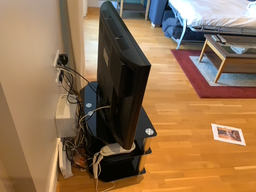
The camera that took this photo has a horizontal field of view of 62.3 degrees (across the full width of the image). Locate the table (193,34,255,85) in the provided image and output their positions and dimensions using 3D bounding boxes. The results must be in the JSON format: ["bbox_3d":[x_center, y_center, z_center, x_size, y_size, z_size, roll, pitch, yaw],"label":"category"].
[{"bbox_3d":[1.600,-0.500,2.920,1.160,0.430,0.570,0,40,-9],"label":"table"}]

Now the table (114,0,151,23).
[{"bbox_3d":[0.070,-1.870,4.210,0.610,0.540,0.660,0,40,-9],"label":"table"}]

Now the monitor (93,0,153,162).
[{"bbox_3d":[-0.100,-0.150,1.280,0.100,0.650,0.830,-6,41,-16],"label":"monitor"}]
